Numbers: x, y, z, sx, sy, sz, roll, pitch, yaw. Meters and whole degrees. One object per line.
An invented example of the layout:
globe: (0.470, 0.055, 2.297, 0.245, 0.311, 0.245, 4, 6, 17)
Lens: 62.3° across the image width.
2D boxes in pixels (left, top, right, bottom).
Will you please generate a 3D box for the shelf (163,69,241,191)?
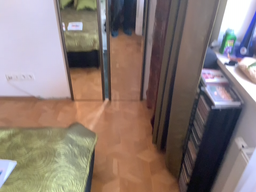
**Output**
shelf: (0.410, 0.310, 1.390, 0.210, 0.890, 0.360, 2, 34, -1)
